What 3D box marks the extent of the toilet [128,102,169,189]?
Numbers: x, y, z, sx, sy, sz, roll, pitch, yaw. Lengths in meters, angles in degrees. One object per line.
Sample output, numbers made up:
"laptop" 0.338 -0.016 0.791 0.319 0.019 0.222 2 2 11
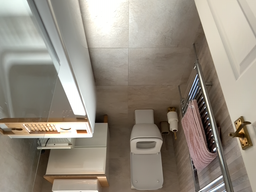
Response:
"toilet" 0.190 0.580 2.440 0.370 0.810 0.610 0 147 -1
